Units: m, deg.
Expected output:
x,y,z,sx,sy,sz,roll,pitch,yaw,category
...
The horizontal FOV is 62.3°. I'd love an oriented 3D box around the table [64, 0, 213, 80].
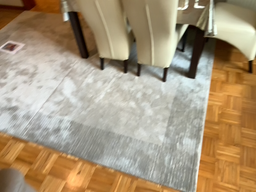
x,y,z,sx,sy,sz,roll,pitch,yaw,category
0.180,-0.850,2.210,1.250,0.760,0.870,13,51,17,table
